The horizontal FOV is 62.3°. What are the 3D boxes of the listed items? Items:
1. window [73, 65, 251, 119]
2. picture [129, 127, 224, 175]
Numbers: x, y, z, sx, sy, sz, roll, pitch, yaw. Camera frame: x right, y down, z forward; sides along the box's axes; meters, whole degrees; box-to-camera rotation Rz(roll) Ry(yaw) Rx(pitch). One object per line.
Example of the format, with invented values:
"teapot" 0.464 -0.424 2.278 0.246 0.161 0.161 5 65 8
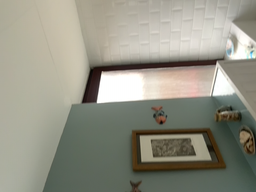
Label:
"window" 0.270 -0.070 2.060 0.680 1.480 0.060 -92 -2 -55
"picture" 0.240 0.290 1.160 0.280 0.460 0.010 -92 -2 -51
